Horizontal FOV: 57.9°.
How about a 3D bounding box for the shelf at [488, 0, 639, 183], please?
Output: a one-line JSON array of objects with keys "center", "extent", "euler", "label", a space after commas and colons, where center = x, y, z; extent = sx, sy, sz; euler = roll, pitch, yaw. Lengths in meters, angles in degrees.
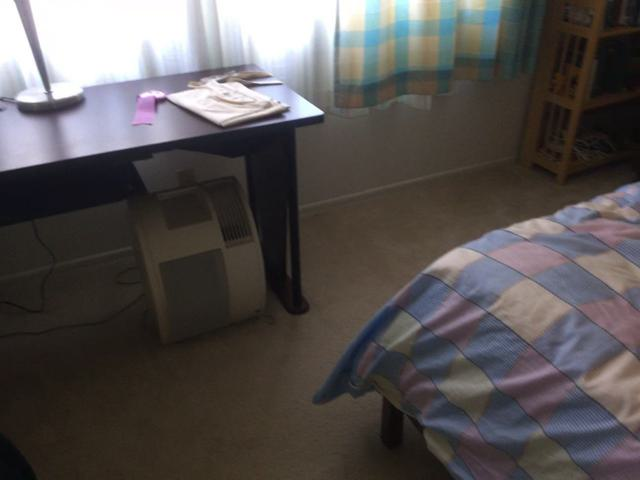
[{"center": [1.240, -0.850, 2.630], "extent": [0.760, 0.990, 0.330], "euler": [-15, 33, -20], "label": "shelf"}]
